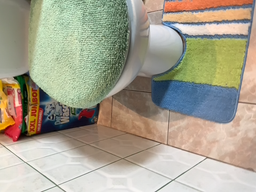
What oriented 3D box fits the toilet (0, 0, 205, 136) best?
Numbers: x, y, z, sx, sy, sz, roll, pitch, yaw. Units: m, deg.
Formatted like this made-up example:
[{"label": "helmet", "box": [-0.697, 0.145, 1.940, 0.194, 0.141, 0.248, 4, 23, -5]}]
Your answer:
[{"label": "toilet", "box": [-0.220, -0.200, 0.720, 0.660, 0.740, 0.420, 8, 98, 41]}]
